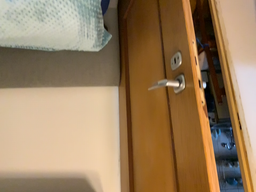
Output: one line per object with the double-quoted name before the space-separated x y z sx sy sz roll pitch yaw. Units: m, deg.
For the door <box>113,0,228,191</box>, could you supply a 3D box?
"door" 0.070 -0.080 0.930 0.110 2.150 0.690 3 161 -16
